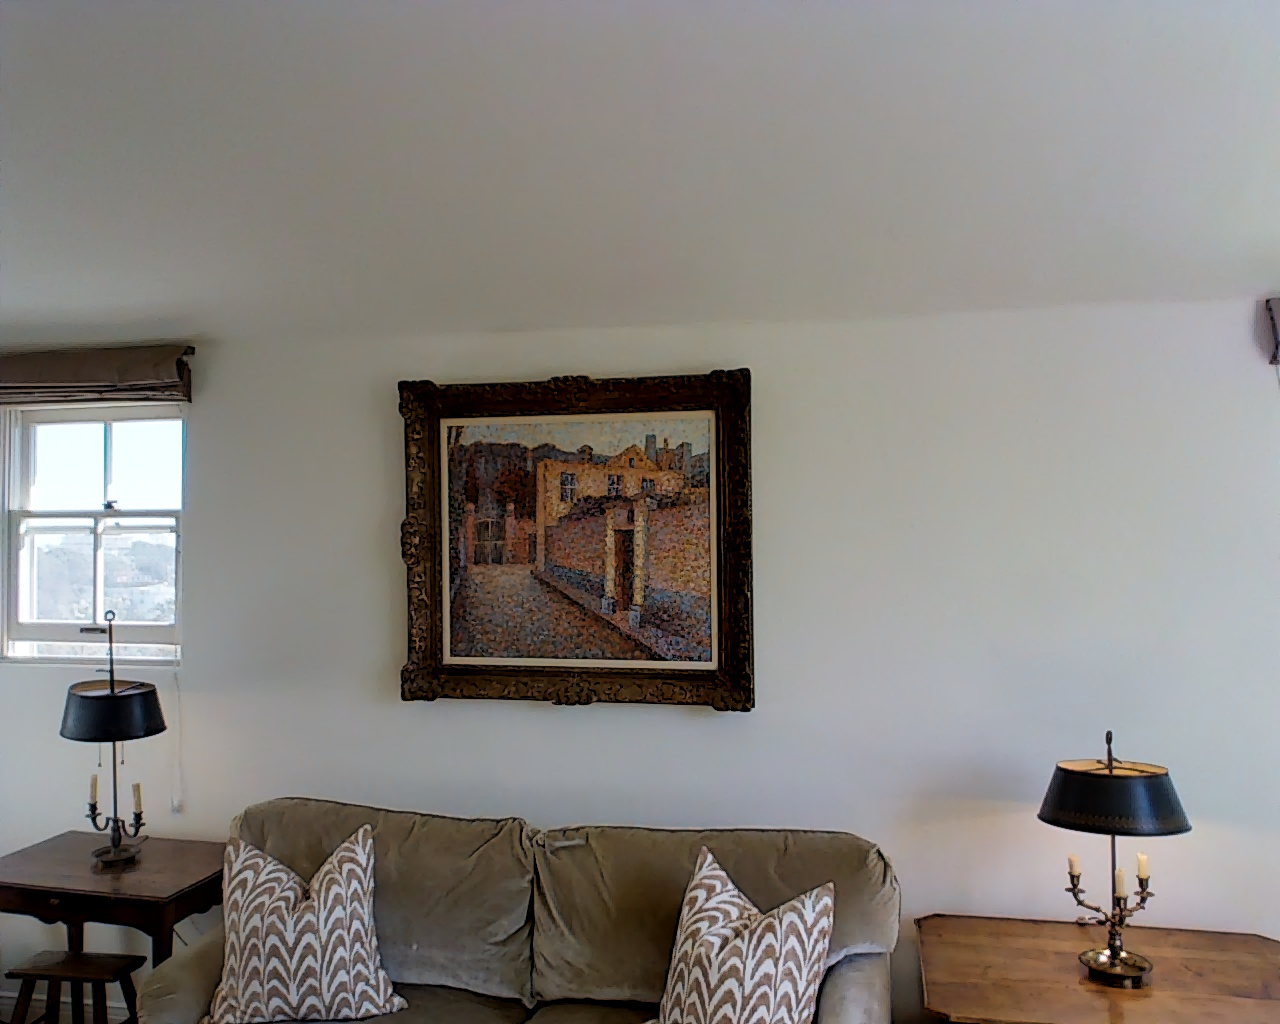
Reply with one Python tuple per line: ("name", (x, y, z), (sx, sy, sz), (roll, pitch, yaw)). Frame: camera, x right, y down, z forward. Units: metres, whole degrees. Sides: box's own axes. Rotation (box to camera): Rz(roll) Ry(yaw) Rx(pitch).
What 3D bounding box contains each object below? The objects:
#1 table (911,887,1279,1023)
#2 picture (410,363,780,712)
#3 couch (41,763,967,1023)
("table", (1.130, 1.350, 2.550), (0.920, 0.620, 0.740), (-1, -2, 13))
("picture", (-0.150, 0.080, 3.210), (1.110, 0.990, 0.100), (-1, -2, 13))
("couch", (-0.270, 1.220, 2.710), (2.029, 0.900, 0.980), (-1, -2, 12))
